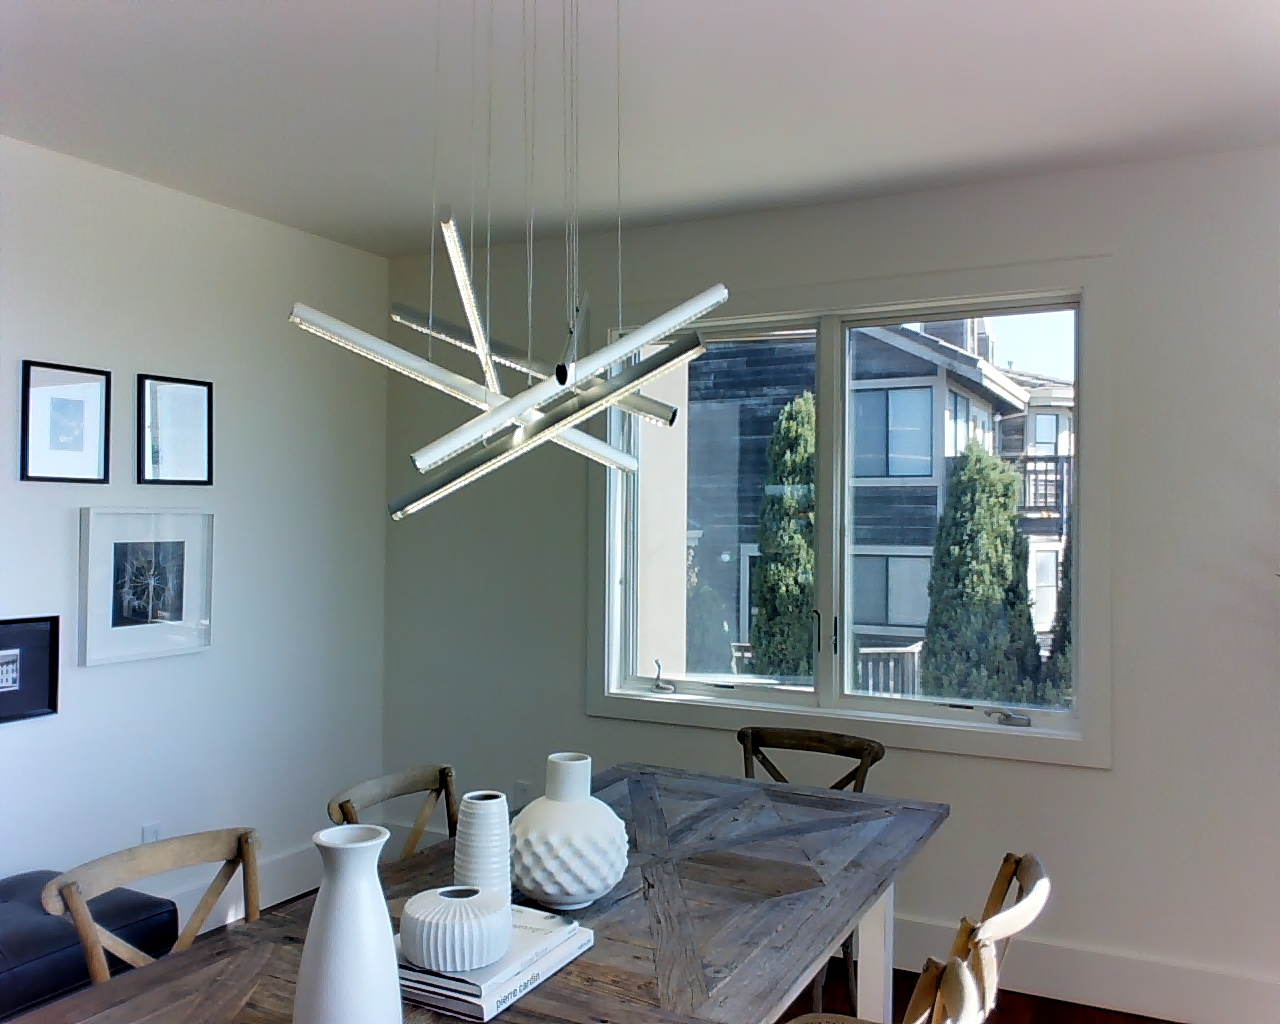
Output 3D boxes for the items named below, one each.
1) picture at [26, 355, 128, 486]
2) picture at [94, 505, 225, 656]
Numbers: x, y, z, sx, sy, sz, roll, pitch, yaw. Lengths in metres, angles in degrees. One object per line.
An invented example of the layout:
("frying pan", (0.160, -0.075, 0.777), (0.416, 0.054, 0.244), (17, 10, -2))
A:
("picture", (-1.840, -0.290, 3.520), (0.040, 0.400, 0.330), (0, 0, 28))
("picture", (-1.680, 0.230, 3.780), (0.050, 0.500, 0.490), (0, 0, 28))
